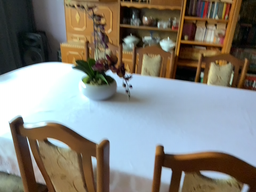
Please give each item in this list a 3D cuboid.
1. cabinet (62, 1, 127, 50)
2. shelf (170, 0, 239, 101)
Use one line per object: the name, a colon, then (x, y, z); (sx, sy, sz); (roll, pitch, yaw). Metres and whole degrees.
cabinet: (-0.490, -1.100, 3.250); (0.840, 0.600, 0.440); (10, 26, 15)
shelf: (1.020, -0.670, 2.980); (0.630, 1.390, 0.340); (10, 26, 15)
